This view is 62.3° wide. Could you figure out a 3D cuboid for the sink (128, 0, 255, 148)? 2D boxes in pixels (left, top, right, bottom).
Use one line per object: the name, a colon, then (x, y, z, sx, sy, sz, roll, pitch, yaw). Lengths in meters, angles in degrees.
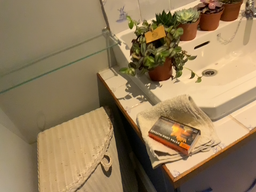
sink: (0.410, -0.190, 0.830, 0.650, 0.260, 0.480, -24, 40, -10)
